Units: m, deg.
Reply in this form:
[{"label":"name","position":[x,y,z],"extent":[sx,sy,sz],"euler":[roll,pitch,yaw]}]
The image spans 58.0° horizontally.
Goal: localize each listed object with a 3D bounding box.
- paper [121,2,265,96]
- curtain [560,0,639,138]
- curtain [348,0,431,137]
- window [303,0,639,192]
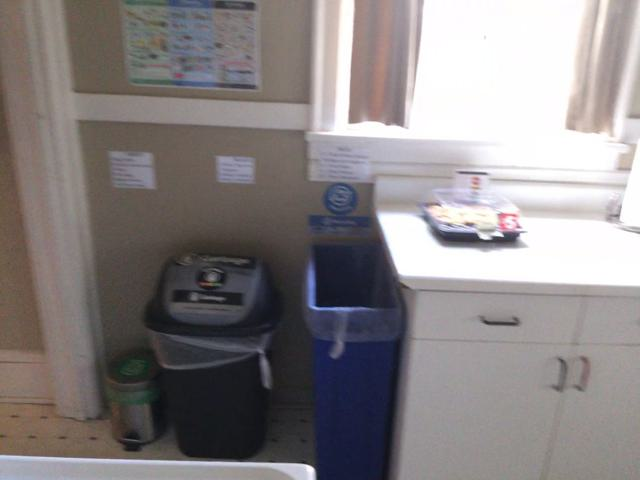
[{"label":"paper","position":[-0.410,-0.620,1.890],"extent":[0.440,0.280,0.030],"euler":[-1,19,2]},{"label":"curtain","position":[0.880,-0.650,1.780],"extent":[0.170,0.650,0.100],"euler":[-1,19,2]},{"label":"curtain","position":[0.210,-0.660,1.790],"extent":[0.240,0.650,0.140],"euler":[-1,19,2]},{"label":"window","position":[0.570,-0.820,1.790],"extent":[1.240,1.290,0.250],"euler":[-1,19,2]}]
